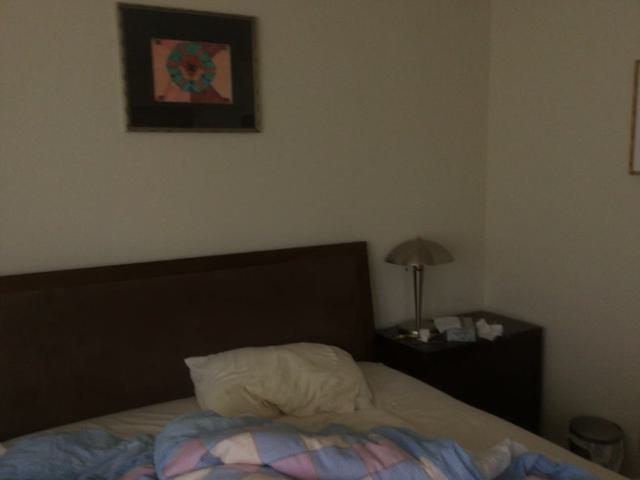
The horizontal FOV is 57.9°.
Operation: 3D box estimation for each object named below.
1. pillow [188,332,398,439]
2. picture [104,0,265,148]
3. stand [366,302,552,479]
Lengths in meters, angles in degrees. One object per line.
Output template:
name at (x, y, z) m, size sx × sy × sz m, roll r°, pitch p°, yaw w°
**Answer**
pillow at (-0.120, 0.490, 2.050) m, size 0.670 × 0.160 × 0.440 m, roll -4°, pitch 5°, yaw -12°
picture at (-0.480, -0.610, 2.110) m, size 0.540 × 0.530 × 0.070 m, roll -6°, pitch 6°, yaw -29°
stand at (0.650, 0.700, 2.670) m, size 0.760 × 0.680 × 0.380 m, roll -6°, pitch 6°, yaw -29°
